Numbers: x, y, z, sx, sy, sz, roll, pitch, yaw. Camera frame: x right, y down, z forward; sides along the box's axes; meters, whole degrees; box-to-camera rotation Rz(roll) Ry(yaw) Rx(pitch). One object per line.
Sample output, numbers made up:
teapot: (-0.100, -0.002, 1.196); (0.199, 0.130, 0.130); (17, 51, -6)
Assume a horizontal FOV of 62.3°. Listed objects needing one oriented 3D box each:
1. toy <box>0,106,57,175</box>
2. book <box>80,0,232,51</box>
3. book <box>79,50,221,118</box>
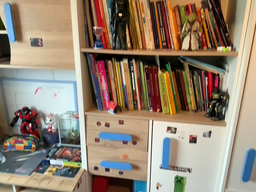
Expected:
toy: (-0.750, 0.290, 1.500); (0.300, 0.300, 0.370); (5, 19, 12)
book: (0.140, -0.430, 1.160); (0.710, 0.300, 0.310); (5, 19, 11)
book: (0.120, -0.100, 1.280); (0.730, 0.300, 0.310); (4, 19, 10)
